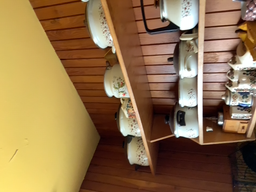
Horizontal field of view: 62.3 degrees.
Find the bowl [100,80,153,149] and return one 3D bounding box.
[{"bbox_3d":[0.010,0.100,1.210,0.270,0.190,0.270,74,-154,-42],"label":"bowl"}]

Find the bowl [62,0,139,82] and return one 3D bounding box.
[{"bbox_3d":[-0.090,-0.240,0.890,0.270,0.180,0.240,74,-154,-42],"label":"bowl"}]

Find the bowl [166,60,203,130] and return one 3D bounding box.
[{"bbox_3d":[0.270,-0.010,0.980,0.190,0.140,0.260,73,-153,-44],"label":"bowl"}]

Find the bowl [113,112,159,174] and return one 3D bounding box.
[{"bbox_3d":[0.070,0.310,1.410,0.290,0.200,0.270,73,-154,-43],"label":"bowl"}]

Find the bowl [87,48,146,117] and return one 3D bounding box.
[{"bbox_3d":[-0.040,-0.070,1.050,0.210,0.180,0.260,72,-153,-45],"label":"bowl"}]

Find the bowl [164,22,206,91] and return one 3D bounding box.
[{"bbox_3d":[0.240,-0.160,0.870,0.180,0.140,0.210,71,-152,-45],"label":"bowl"}]
